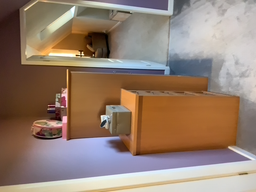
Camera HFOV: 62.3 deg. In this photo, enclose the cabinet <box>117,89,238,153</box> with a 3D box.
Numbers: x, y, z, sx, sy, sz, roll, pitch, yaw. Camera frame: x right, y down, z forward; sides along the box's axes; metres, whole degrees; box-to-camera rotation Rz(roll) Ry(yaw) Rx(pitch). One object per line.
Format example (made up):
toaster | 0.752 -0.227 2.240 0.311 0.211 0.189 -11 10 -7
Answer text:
cabinet | 0.430 0.190 1.980 0.470 0.970 0.460 -160 71 -72
